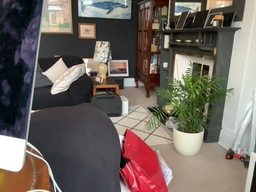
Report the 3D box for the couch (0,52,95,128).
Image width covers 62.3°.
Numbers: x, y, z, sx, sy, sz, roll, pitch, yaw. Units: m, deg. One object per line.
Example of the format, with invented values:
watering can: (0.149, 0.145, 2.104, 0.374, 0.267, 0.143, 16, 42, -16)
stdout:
couch: (-1.640, -0.170, 3.190, 2.120, 0.860, 1.160, -3, 17, -14)
